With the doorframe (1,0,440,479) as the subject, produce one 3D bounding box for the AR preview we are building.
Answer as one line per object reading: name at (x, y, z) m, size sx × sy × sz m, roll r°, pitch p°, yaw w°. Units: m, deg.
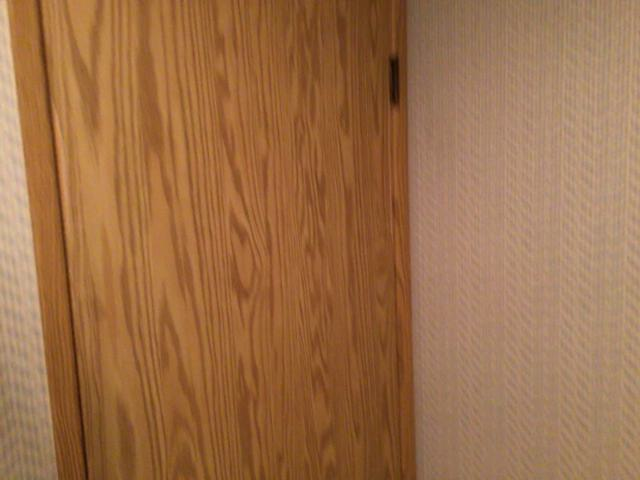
doorframe at (-0.060, 0.390, 1.070) m, size 0.870 × 2.050 × 0.030 m, roll -6°, pitch 8°, yaw -43°
